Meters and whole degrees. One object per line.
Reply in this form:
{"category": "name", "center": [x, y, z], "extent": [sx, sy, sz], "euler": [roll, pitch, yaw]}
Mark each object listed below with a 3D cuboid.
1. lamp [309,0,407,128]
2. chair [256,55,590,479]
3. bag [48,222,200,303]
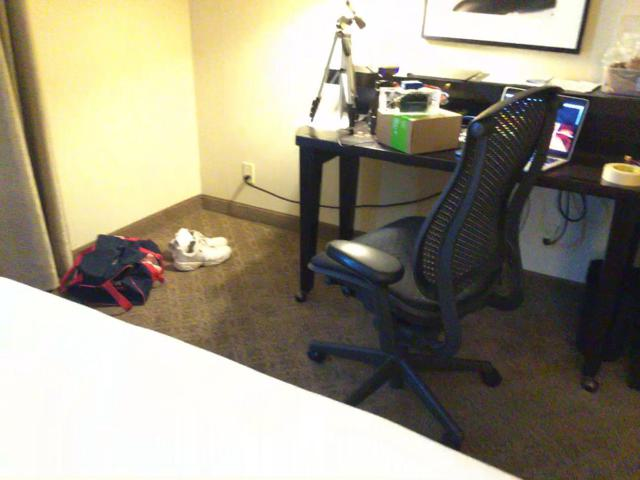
{"category": "lamp", "center": [0.160, -0.850, 2.340], "extent": [0.230, 0.690, 0.400], "euler": [14, 28, 27]}
{"category": "chair", "center": [0.290, 0.050, 1.770], "extent": [0.650, 1.070, 0.660], "euler": [18, 30, 33]}
{"category": "bag", "center": [-0.870, 0.090, 2.670], "extent": [0.510, 0.140, 0.530], "euler": [1, 25, 1]}
